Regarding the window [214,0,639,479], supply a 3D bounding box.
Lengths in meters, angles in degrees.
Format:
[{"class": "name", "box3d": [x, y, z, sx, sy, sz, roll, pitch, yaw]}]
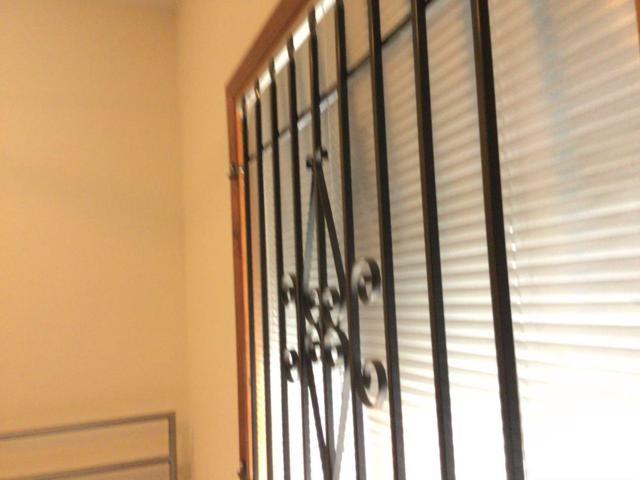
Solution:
[{"class": "window", "box3d": [0.060, 0.170, 0.960, 0.160, 1.350, 1.350, 0, -6, -22]}]
